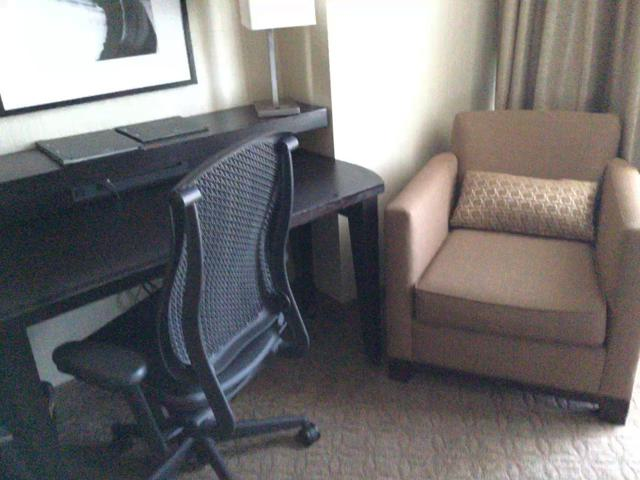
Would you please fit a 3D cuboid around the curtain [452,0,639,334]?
[{"bbox_3d":[1.050,-0.670,2.130,0.240,1.970,1.150,-20,28,-34],"label":"curtain"}]

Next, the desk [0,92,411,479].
[{"bbox_3d":[-0.460,0.140,1.940,1.410,1.000,0.750,-20,28,-34],"label":"desk"}]

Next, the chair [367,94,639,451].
[{"bbox_3d":[0.790,-0.010,2.170,0.890,0.880,1.050,7,25,24],"label":"chair"}]

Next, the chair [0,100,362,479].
[{"bbox_3d":[-0.360,0.230,1.610,0.710,1.090,0.690,8,25,25],"label":"chair"}]
